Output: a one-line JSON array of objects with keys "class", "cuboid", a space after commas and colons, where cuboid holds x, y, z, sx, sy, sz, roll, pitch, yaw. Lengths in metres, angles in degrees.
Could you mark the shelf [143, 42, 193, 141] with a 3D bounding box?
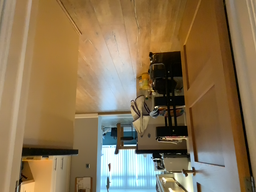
[{"class": "shelf", "cuboid": [0.350, -0.010, 2.070, 0.360, 0.850, 0.520, -2, 166, 3]}]
